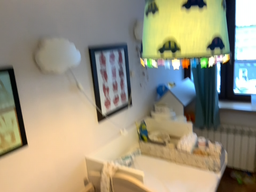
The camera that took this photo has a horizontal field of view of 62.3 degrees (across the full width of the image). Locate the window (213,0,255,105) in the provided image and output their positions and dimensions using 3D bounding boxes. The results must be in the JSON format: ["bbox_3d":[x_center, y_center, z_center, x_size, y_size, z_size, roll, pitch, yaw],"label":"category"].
[{"bbox_3d":[1.470,-0.670,2.630,0.700,1.530,0.270,5,17,34],"label":"window"}]
